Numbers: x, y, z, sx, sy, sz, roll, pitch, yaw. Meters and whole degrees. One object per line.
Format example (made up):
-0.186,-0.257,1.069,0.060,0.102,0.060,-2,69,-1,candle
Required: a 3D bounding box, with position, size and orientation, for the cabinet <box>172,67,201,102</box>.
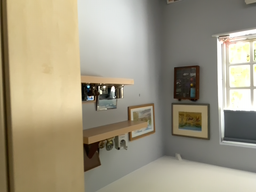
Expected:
0.730,-0.140,2.680,0.360,0.410,0.060,1,-178,39,cabinet
